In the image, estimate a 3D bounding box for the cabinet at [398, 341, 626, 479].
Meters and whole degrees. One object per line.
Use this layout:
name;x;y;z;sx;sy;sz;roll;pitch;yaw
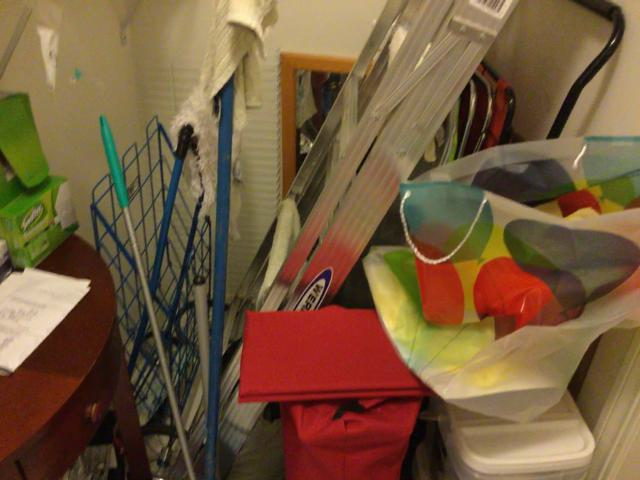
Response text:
cabinet;0.340;0.430;1.140;0.280;0.350;0.280;-1;35;-5
